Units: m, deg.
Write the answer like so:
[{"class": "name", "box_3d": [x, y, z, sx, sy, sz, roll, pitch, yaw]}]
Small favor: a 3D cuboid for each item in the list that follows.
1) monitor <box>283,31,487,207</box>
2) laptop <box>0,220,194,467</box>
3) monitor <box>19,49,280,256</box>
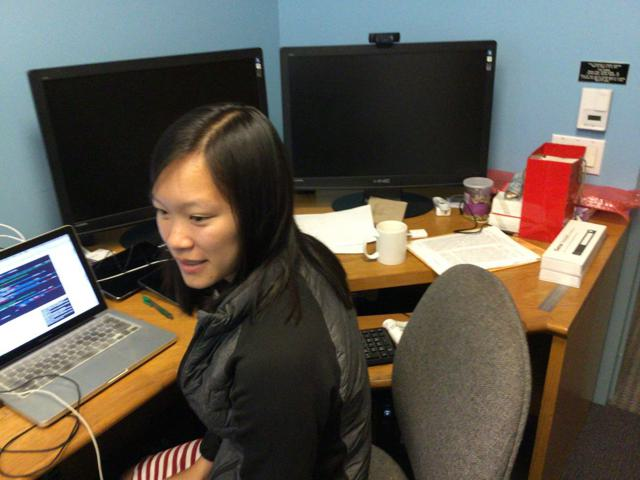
[{"class": "monitor", "box_3d": [0.180, -0.390, 1.830, 0.570, 0.490, 0.280, -2, 22, -2]}, {"class": "laptop", "box_3d": [-0.540, 0.160, 1.130, 0.350, 0.220, 0.430, 14, 27, 32]}, {"class": "monitor", "box_3d": [-0.440, -0.270, 1.620, 0.620, 0.460, 0.190, -15, 26, -30]}]
